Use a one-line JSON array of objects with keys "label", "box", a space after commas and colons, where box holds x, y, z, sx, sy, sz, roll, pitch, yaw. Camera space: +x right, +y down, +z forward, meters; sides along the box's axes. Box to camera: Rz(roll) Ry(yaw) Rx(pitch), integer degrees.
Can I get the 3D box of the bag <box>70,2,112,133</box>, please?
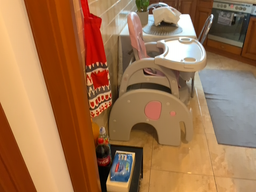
[{"label": "bag", "box": [-0.190, -0.130, 1.230, 0.100, 0.740, 0.180, 6, 33, 12]}]
